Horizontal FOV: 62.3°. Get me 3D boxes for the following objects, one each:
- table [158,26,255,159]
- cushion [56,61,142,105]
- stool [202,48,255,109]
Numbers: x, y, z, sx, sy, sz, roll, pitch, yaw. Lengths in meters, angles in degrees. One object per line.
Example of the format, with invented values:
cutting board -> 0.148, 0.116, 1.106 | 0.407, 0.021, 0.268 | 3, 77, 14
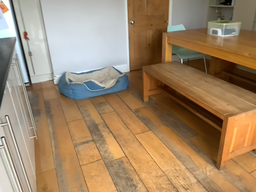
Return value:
table -> 1.160, -0.180, 2.150 | 0.920, 0.760, 1.750 | -12, 27, -20
cushion -> -0.430, -0.230, 2.990 | 1.010, 0.200, 0.800 | -12, 27, -20
stool -> 1.530, -0.190, 2.500 | 0.450, 0.460, 1.330 | -12, 27, -20
